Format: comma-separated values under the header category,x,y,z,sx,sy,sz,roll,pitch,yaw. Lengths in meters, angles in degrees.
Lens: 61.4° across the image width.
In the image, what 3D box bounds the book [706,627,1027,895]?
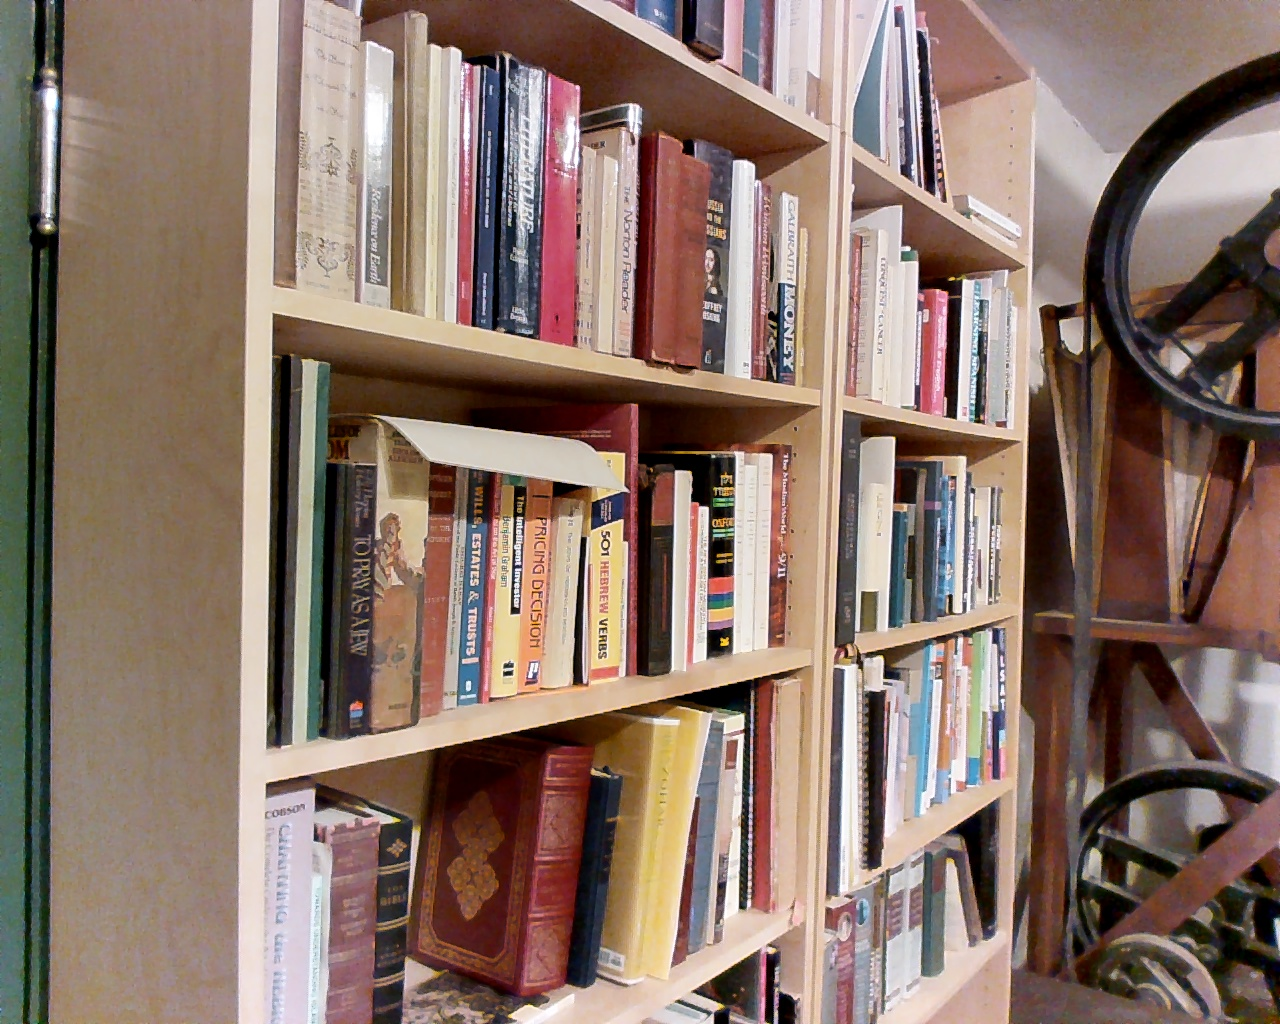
category,x,y,z,sx,sy,sz,roll,pitch,yaw
book,0.400,0.360,1.750,0.240,0.270,0.710,1,1,36

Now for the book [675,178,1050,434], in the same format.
category,x,y,z,sx,sy,sz,roll,pitch,yaw
book,0.400,-0.290,1.760,0.300,0.270,0.750,1,1,37

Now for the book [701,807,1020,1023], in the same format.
category,x,y,z,sx,sy,sz,roll,pitch,yaw
book,0.380,0.660,1.720,0.210,0.200,0.670,1,1,39

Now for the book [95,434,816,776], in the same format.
category,x,y,z,sx,sy,sz,roll,pitch,yaw
book,-0.100,0.060,1.070,0.220,0.220,0.770,1,1,36

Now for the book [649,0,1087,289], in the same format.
category,x,y,z,sx,sy,sz,roll,pitch,yaw
book,0.410,-0.610,1.750,0.390,0.320,0.790,1,1,37

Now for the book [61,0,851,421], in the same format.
category,x,y,z,sx,sy,sz,roll,pitch,yaw
book,-0.120,-0.280,1.130,0.350,0.300,0.780,1,1,38

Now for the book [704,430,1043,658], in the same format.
category,x,y,z,sx,sy,sz,roll,pitch,yaw
book,0.410,0.040,1.740,0.270,0.290,0.710,1,1,36
